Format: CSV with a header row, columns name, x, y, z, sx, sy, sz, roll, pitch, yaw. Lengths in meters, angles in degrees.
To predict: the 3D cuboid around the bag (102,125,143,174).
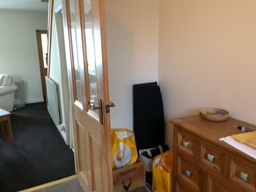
name,x,y,z,sx,sy,sz,roll,pitch,yaw
bag,-0.060,0.520,2.130,0.350,0.360,0.250,-5,14,-18
